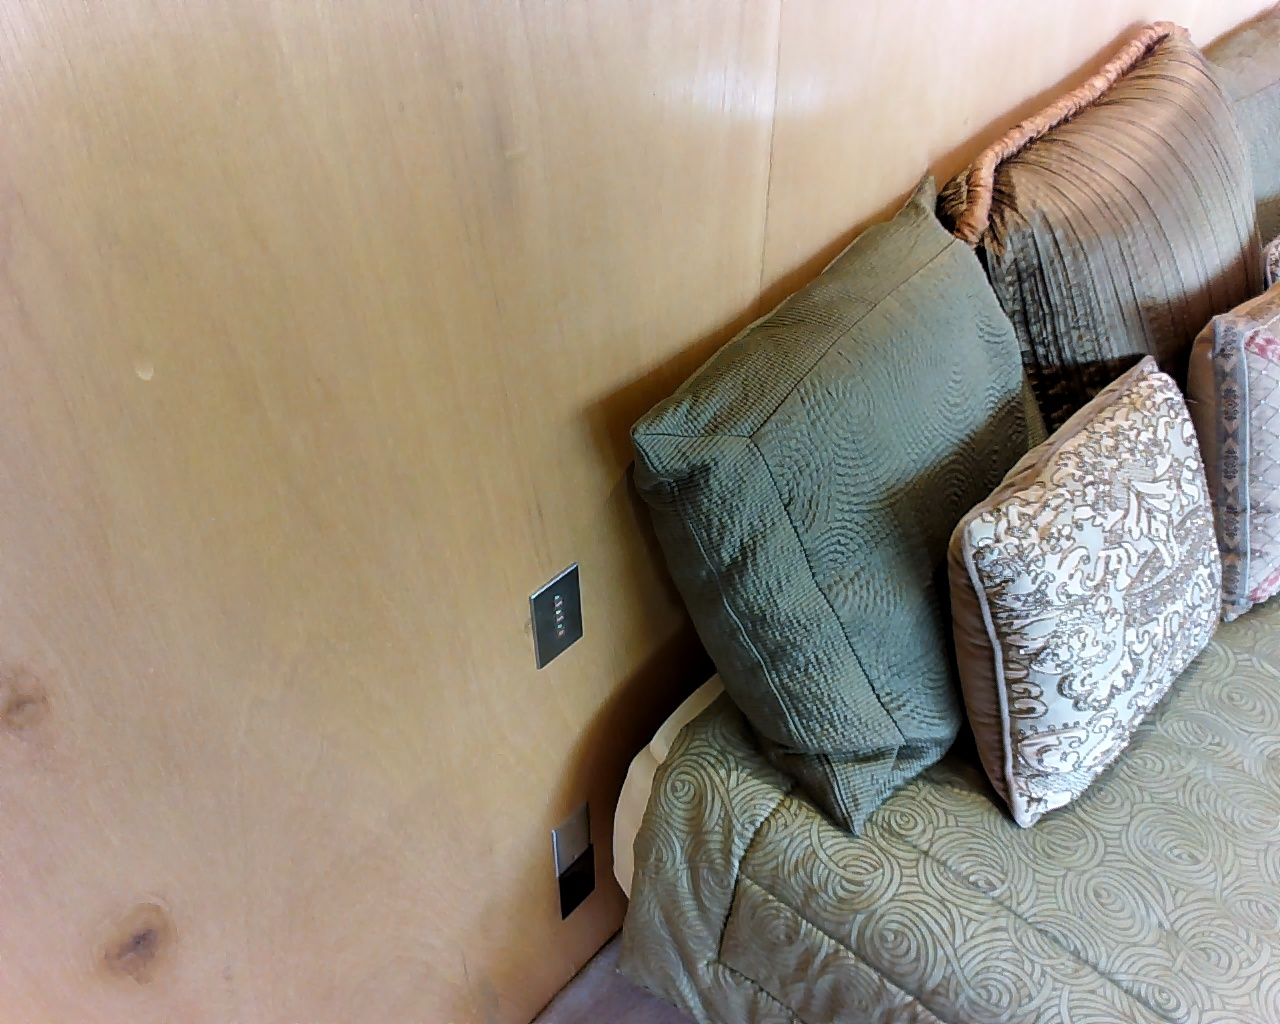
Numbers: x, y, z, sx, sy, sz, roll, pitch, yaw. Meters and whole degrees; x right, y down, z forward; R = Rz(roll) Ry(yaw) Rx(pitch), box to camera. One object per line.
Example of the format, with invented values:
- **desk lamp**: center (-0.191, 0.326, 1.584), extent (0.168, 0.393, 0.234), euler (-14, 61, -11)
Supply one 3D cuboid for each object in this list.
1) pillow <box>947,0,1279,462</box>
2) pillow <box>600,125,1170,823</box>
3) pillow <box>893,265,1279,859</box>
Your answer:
- **pillow**: center (0.740, -0.460, 1.520), extent (0.190, 0.410, 0.680), euler (36, 88, 28)
- **pillow**: center (0.320, -0.010, 1.290), extent (0.210, 0.540, 0.650), euler (35, 77, 30)
- **pillow**: center (0.570, 0.070, 1.280), extent (0.220, 0.390, 0.570), euler (32, 73, 30)
